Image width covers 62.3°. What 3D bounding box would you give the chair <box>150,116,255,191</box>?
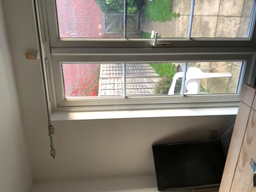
[{"bbox_3d":[0.810,0.530,1.810,0.680,1.080,0.480,101,167,-62],"label":"chair"}]

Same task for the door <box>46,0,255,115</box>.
[{"bbox_3d":[0.330,-0.410,2.070,0.070,2.070,1.210,-109,18,-70],"label":"door"}]
